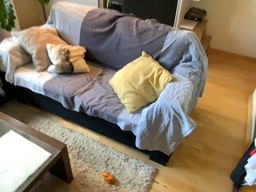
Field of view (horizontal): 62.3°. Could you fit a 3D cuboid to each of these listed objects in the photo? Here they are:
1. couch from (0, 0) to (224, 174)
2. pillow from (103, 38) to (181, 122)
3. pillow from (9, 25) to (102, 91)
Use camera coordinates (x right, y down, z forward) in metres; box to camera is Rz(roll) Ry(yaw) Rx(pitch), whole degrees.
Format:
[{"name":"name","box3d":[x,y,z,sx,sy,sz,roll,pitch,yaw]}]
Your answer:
[{"name":"couch","box3d":[-0.160,-0.250,1.900,1.590,0.850,0.930,19,42,19]},{"name":"pillow","box3d":[0.080,-0.130,1.620,0.420,0.200,0.450,-40,45,14]},{"name":"pillow","box3d":[-0.640,-0.380,1.950,0.620,0.270,0.480,23,43,23]}]
